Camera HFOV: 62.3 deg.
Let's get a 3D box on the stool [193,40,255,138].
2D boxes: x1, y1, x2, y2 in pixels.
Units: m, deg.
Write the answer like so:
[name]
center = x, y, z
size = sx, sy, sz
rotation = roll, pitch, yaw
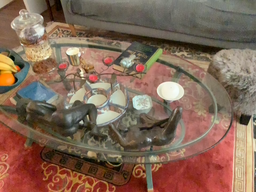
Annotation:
[stool]
center = 0.720, -0.050, 1.380
size = 0.450, 0.380, 0.430
rotation = 13, 49, 15
